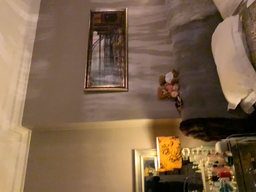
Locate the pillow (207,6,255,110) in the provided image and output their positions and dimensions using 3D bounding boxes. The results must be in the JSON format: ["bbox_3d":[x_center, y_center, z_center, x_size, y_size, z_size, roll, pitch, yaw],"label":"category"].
[{"bbox_3d":[0.850,-0.300,1.740,0.190,0.400,0.720,-4,68,6],"label":"pillow"}]
